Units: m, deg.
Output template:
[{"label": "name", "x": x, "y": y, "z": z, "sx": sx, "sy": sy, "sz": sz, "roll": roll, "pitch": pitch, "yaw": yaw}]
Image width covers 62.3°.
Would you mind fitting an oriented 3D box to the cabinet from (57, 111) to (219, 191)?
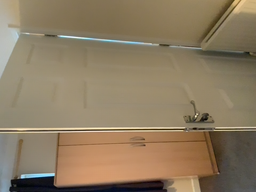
[{"label": "cabinet", "x": 0.100, "y": 0.690, "z": 2.710, "sx": 0.520, "sy": 1.810, "sz": 0.860, "roll": 114, "pitch": 155, "yaw": -61}]
